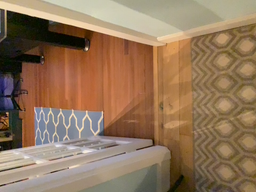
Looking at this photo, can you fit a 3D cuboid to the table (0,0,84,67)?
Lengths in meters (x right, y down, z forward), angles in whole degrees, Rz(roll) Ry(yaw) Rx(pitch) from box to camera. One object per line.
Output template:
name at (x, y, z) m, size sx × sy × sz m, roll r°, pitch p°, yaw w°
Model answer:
table at (-1.380, -1.040, 2.710) m, size 1.530 × 0.910 × 1.080 m, roll -2°, pitch 89°, yaw 45°
